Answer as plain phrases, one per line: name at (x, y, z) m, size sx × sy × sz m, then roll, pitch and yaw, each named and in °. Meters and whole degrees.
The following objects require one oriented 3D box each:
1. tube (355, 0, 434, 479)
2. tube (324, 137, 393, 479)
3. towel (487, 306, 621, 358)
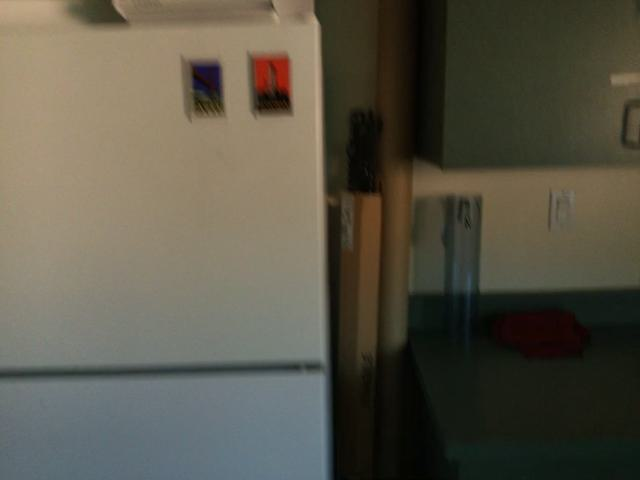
tube at (0.180, 0.160, 1.560) m, size 0.150 × 1.890 × 0.250 m, roll 0°, pitch 14°, yaw 1°
tube at (0.090, 0.420, 1.570) m, size 0.150 × 1.360 × 0.330 m, roll 0°, pitch 14°, yaw 1°
towel at (0.610, 0.240, 1.540) m, size 0.270 × 0.060 × 0.210 m, roll 0°, pitch 14°, yaw 1°
